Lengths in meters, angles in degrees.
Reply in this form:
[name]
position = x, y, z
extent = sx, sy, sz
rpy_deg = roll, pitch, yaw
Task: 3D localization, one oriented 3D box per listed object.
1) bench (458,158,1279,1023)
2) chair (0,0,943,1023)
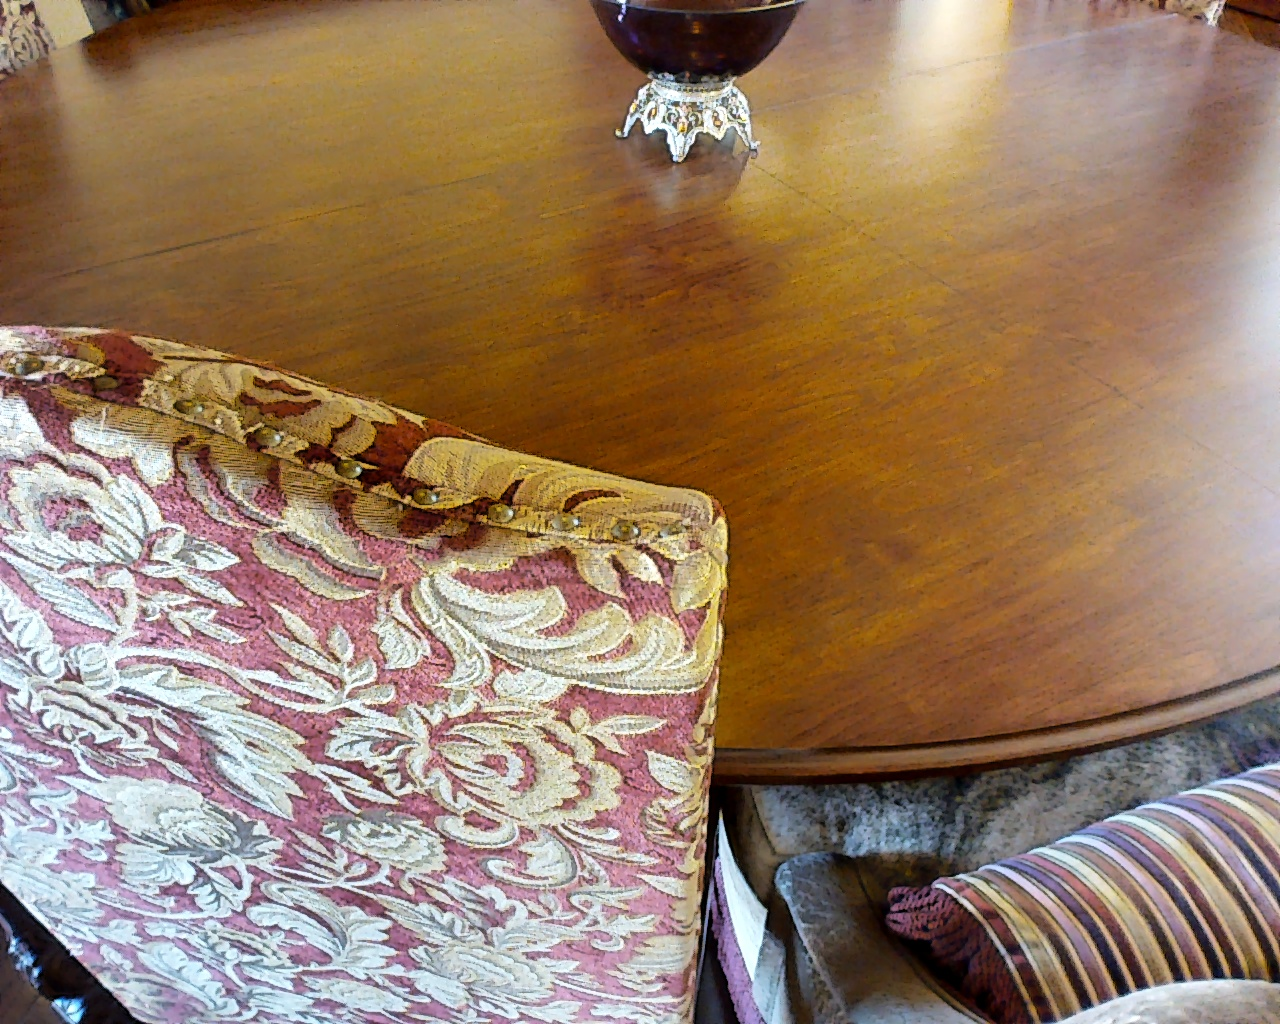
[bench]
position = 0.790, 0.340, 1.210
extent = 1.630, 1.100, 0.930
rpy_deg = -21, 46, -23
[chair]
position = -0.180, 0.270, 1.030
extent = 0.640, 1.420, 0.630
rpy_deg = 9, 42, 9
